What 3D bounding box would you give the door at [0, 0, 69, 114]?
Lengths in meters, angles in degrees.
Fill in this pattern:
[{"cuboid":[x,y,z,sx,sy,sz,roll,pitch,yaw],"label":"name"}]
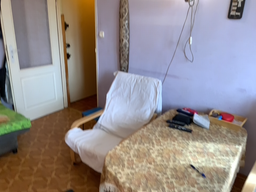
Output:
[{"cuboid":[-1.370,-0.720,3.190,0.090,1.820,0.970,16,23,33],"label":"door"}]
